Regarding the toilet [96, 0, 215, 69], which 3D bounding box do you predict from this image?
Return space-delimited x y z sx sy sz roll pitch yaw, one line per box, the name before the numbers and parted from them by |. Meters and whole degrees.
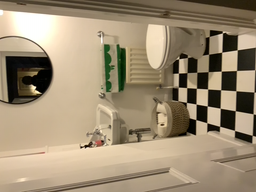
toilet | 0.220 -0.610 1.820 0.470 0.880 0.730 -169 77 -68
